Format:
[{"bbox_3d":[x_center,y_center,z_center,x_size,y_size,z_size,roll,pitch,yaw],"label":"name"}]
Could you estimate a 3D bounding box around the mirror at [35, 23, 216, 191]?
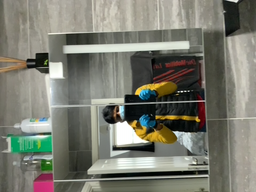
[{"bbox_3d":[0.000,0.220,0.990,0.070,0.790,1.060,-91,-1,-88],"label":"mirror"}]
